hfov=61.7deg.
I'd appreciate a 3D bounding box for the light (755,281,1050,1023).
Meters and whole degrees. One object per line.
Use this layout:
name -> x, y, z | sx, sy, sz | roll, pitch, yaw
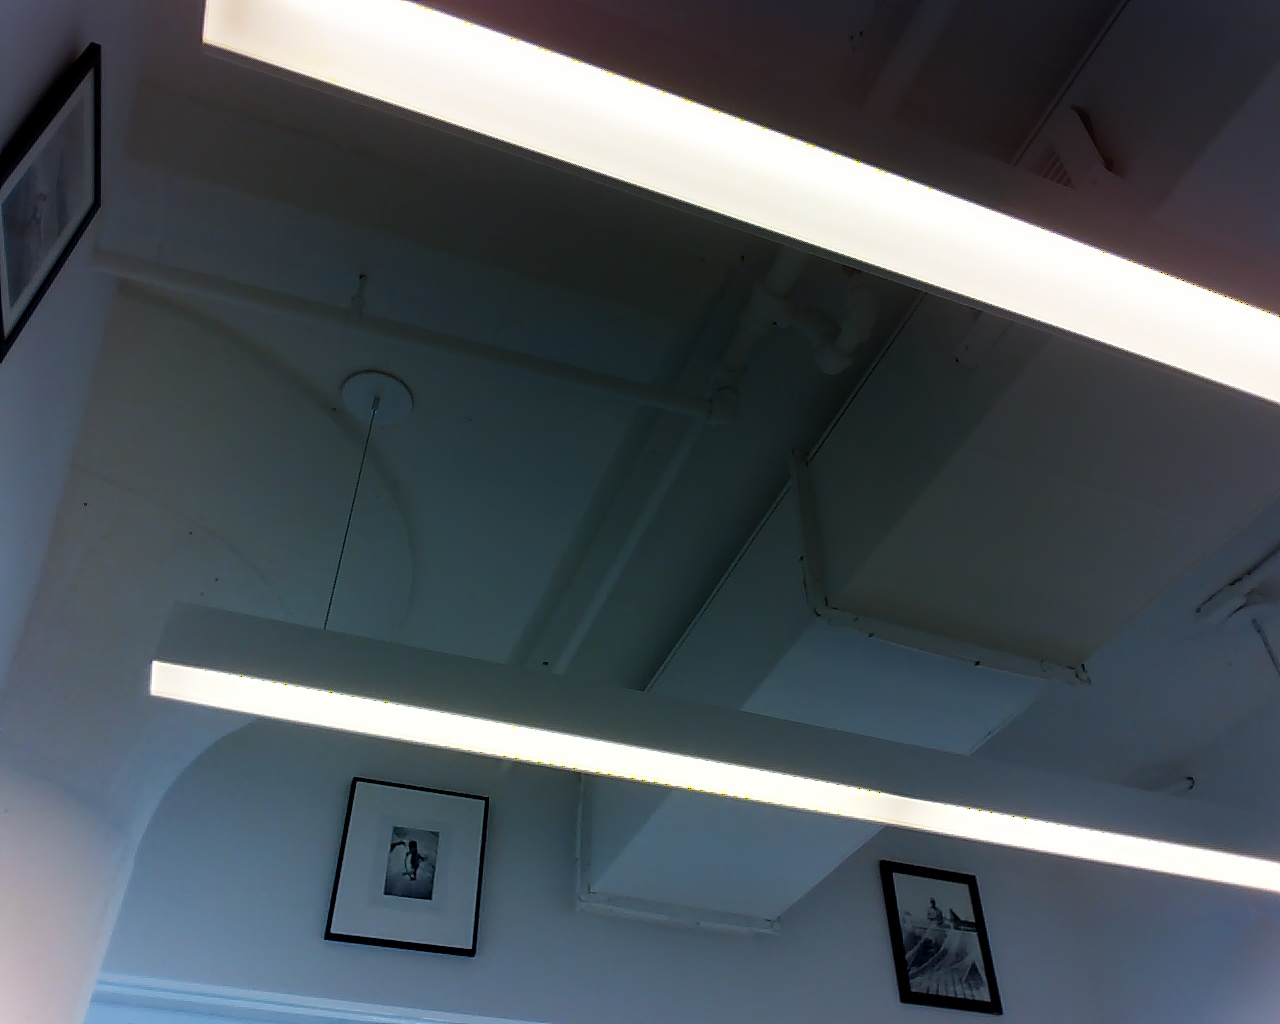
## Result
light -> 0.450, 0.440, 1.890 | 0.240, 0.180, 2.491 | 14, 46, -16
